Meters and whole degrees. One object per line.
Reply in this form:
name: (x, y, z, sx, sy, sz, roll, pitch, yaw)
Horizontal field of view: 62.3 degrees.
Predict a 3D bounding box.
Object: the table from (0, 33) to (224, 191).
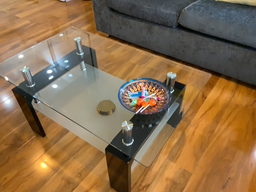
table: (-0.100, 0.100, 1.070, 0.870, 0.420, 0.530, 26, 50, 25)
